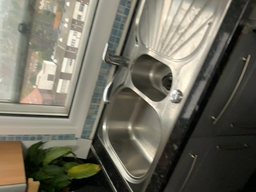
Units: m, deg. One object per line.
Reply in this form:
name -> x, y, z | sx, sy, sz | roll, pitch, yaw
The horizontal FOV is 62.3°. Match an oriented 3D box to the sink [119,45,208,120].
sink -> 0.140, -0.070, 0.980 | 0.340, 0.180, 0.210 | 44, 120, 50

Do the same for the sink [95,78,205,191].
sink -> 0.060, 0.190, 1.070 | 0.500, 0.200, 0.380 | 44, 120, 50
